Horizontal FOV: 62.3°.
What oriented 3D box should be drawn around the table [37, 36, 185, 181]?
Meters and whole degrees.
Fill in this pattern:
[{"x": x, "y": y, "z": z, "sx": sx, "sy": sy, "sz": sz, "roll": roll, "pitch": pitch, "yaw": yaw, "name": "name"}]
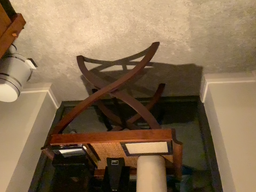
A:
[{"x": -0.030, "y": 0.090, "z": 1.350, "sx": 0.660, "sy": 0.690, "sz": 0.550, "roll": -4, "pitch": 139, "yaw": 9, "name": "table"}]
